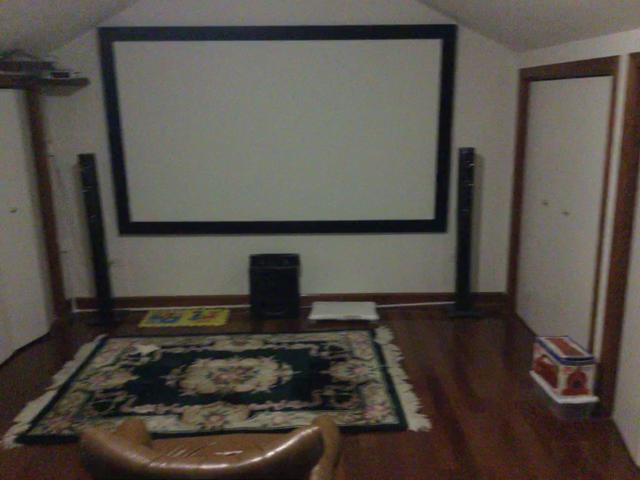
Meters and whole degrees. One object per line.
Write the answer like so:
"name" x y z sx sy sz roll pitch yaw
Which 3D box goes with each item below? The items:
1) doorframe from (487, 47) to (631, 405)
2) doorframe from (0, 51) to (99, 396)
"doorframe" 1.240 -0.190 3.280 0.140 1.690 1.360 -1 19 2
"doorframe" -1.740 -0.180 3.290 0.230 1.690 1.420 0 16 1
